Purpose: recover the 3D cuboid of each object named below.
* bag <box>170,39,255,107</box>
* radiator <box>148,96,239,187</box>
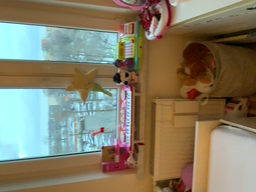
[{"bbox_3d":[0.660,-0.170,1.540,0.360,0.550,0.410,-153,64,-67],"label":"bag"},{"bbox_3d":[0.520,0.330,1.670,0.110,0.710,0.650,-155,66,-67],"label":"radiator"}]
